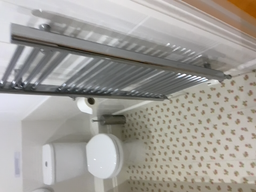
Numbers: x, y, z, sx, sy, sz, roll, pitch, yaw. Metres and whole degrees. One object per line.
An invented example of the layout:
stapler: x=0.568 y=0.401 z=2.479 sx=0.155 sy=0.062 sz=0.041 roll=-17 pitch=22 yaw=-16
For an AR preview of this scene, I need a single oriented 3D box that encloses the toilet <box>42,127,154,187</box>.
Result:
toilet: x=-0.280 y=0.530 z=1.910 sx=0.620 sy=0.760 sz=0.360 roll=-25 pitch=68 yaw=48
